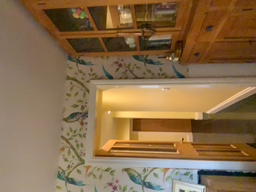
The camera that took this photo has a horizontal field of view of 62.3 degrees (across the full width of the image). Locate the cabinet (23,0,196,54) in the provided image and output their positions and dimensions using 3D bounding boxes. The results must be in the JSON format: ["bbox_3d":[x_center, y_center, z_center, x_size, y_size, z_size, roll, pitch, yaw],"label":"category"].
[{"bbox_3d":[-0.130,-0.900,1.820,1.540,1.320,0.440,68,-157,-75],"label":"cabinet"}]
